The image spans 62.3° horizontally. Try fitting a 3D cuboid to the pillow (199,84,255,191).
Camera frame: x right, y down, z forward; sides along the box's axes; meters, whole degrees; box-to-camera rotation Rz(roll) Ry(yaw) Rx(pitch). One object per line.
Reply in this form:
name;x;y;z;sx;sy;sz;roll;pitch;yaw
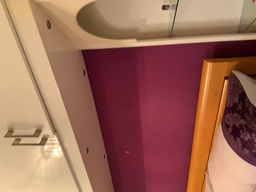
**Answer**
pillow;0.550;0.350;1.020;0.510;0.230;0.630;-84;-10;-55
